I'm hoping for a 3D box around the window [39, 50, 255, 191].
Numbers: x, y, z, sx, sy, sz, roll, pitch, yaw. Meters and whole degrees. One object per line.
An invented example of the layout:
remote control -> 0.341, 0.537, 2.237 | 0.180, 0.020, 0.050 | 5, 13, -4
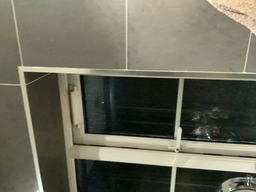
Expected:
window -> 0.180, 0.290, 0.930 | 0.100, 1.030, 0.940 | -68, -20, -71
